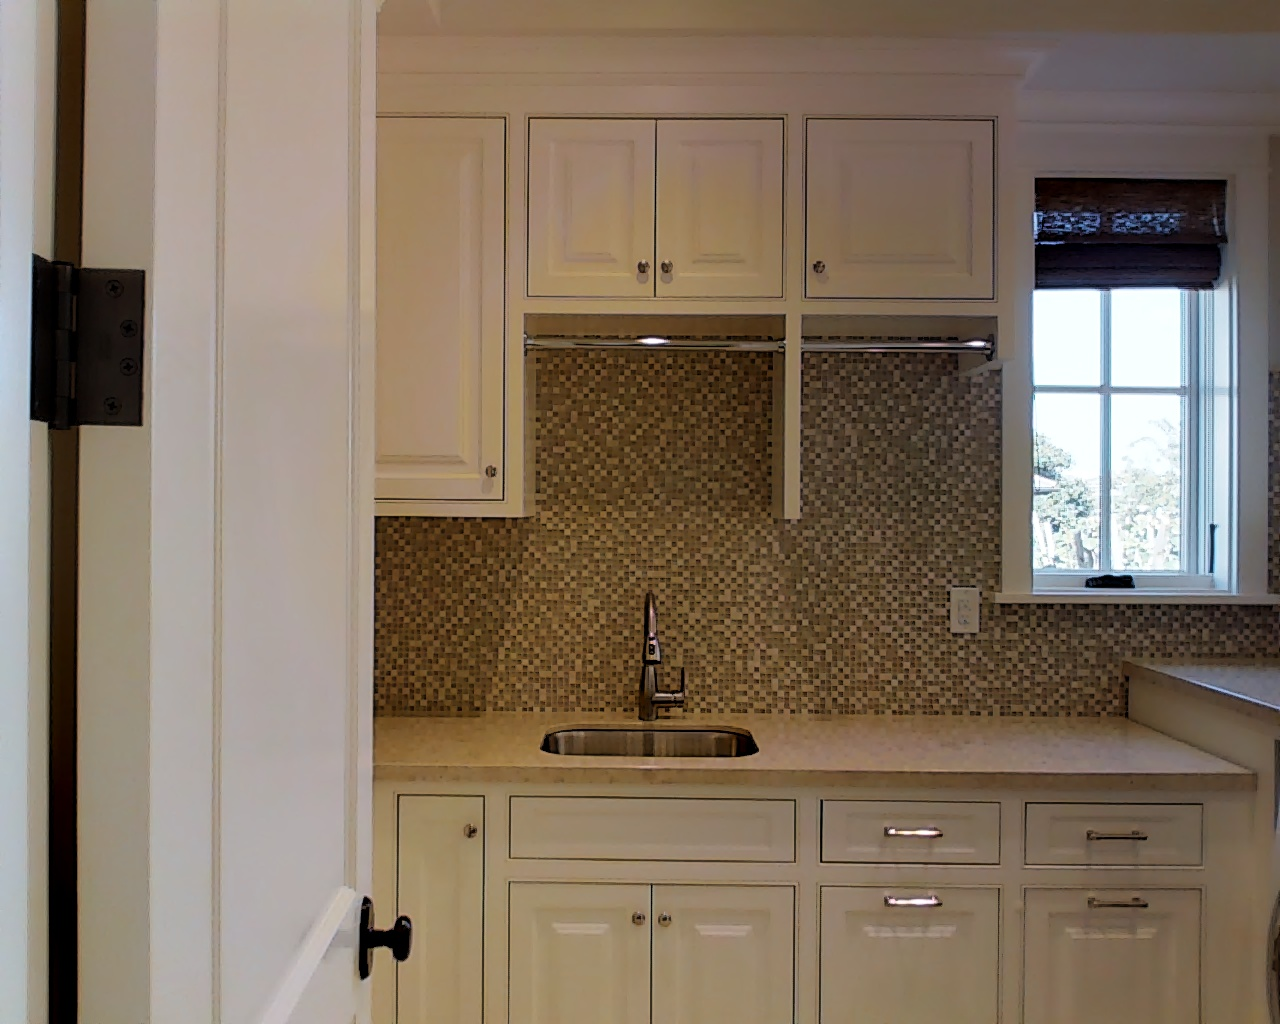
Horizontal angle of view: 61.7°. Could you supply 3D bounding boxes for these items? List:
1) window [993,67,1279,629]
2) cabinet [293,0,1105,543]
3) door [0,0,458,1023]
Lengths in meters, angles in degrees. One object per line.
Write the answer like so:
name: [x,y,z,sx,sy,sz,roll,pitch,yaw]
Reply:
window: [1.449,-0.440,2.970,0.860,1.501,0.210,1,0,1]
cabinet: [0.130,-0.540,2.690,1.769,1.201,0.680,1,0,1]
door: [-0.320,0.170,1.110,0.110,2.561,1.090,1,0,-3]
